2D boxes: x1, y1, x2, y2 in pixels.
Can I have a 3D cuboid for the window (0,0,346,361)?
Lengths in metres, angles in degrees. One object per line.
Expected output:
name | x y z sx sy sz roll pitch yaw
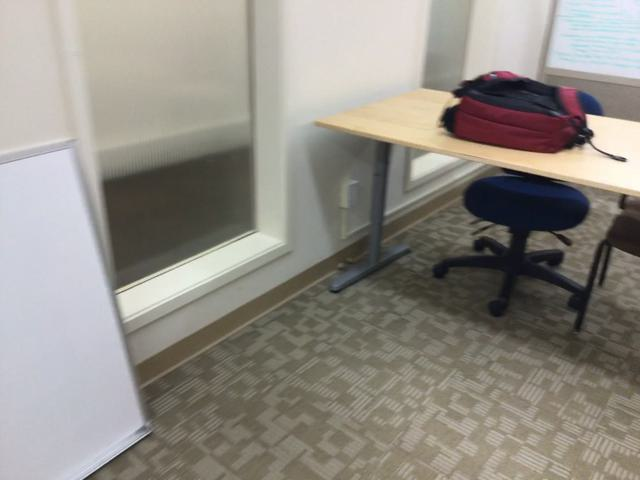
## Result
window | -0.430 -0.460 1.790 0.270 1.380 0.870 9 37 39

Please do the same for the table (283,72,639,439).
table | 0.840 -0.050 2.120 1.700 0.870 0.860 15 34 36

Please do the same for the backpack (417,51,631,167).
backpack | 0.670 -0.460 1.910 0.510 0.220 0.490 15 34 36

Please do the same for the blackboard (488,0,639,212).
blackboard | 1.440 -0.940 3.160 0.880 1.400 0.400 15 34 36
